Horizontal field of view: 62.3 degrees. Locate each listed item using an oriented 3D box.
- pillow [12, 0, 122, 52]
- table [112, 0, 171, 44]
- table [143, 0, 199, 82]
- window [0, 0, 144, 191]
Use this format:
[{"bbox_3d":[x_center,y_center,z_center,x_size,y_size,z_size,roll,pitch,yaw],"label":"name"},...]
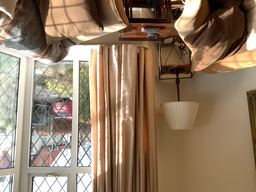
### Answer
[{"bbox_3d":[-0.440,-0.660,1.520,0.710,0.460,0.350,-7,169,30],"label":"pillow"},{"bbox_3d":[0.100,-0.830,2.040,0.500,0.550,0.340,0,170,-6],"label":"table"},{"bbox_3d":[0.510,-0.630,2.530,0.530,0.810,0.370,-6,169,25],"label":"table"},{"bbox_3d":[-1.200,0.290,1.160,1.370,1.970,3.110,-7,169,28],"label":"window"}]
